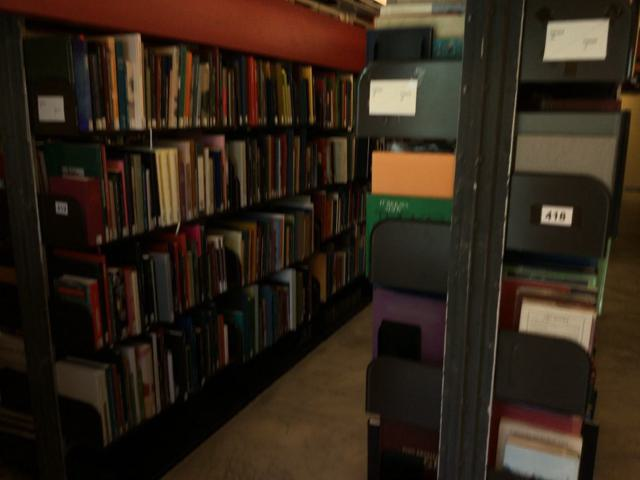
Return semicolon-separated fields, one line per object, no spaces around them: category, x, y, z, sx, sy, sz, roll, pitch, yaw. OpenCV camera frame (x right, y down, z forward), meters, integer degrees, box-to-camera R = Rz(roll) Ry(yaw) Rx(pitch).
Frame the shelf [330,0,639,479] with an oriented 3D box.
shelf;0.650;-0.010;1.940;0.680;2.070;1.510;6;15;24
